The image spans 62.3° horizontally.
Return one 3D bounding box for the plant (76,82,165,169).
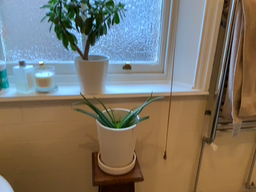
[{"bbox_3d":[-0.040,0.120,0.940,0.330,0.320,0.200,-1,21,-6],"label":"plant"}]
